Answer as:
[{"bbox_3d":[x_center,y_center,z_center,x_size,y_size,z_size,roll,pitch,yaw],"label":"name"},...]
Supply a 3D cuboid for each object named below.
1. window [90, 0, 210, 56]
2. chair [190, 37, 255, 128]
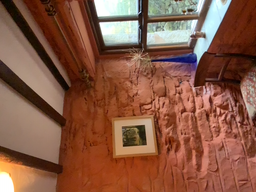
[{"bbox_3d":[0.210,-0.740,2.170,0.870,1.050,0.090,85,-177,-64],"label":"window"},{"bbox_3d":[1.090,-0.120,1.920,0.550,0.840,0.580,86,-178,-53],"label":"chair"}]
